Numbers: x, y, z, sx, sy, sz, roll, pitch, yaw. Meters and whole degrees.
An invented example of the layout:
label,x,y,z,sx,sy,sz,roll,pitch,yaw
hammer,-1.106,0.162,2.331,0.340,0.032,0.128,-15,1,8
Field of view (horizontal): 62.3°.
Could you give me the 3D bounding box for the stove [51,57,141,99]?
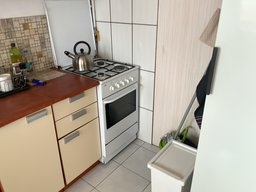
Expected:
label,x,y,z,sx,sy,sz,roll,pitch,yaw
stove,-0.290,-0.200,1.970,0.630,0.120,0.520,18,31,33
